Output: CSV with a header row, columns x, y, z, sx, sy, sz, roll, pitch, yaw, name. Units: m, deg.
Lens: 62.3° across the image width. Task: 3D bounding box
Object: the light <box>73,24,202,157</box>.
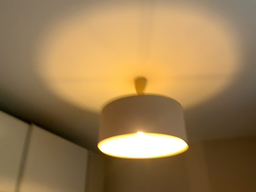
x,y,z,sx,sy,sz,roll,pitch,yaw,name
0.120,0.050,1.480,0.560,0.710,0.590,-11,-120,28,light
